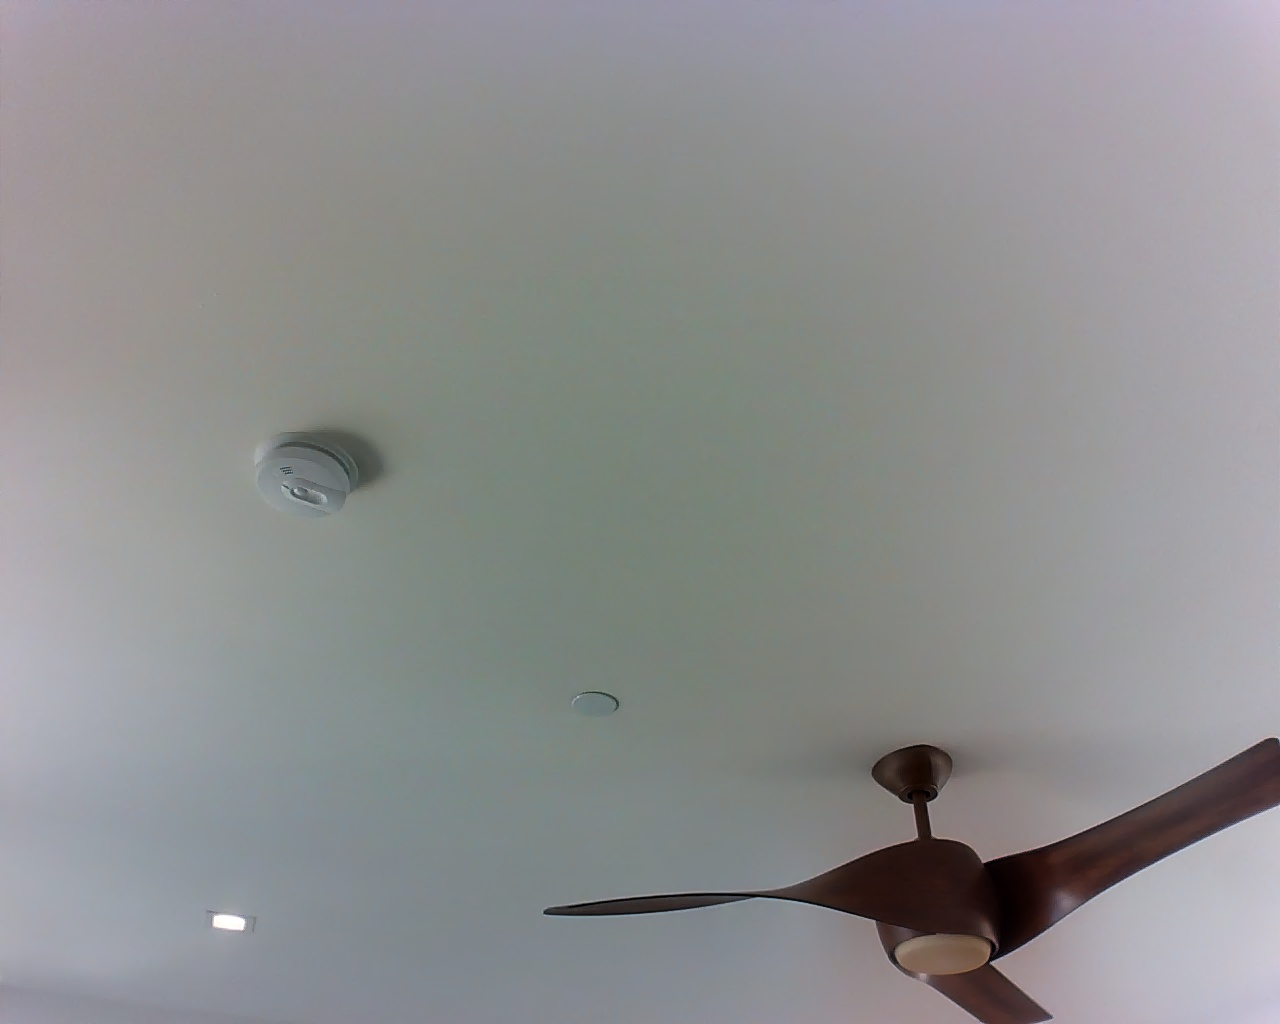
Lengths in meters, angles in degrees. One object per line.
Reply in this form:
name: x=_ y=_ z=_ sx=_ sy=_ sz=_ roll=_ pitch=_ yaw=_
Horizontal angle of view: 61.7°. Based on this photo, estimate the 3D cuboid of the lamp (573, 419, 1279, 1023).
lamp: x=0.490 y=0.630 z=1.970 sx=1.270 sy=1.410 sz=0.370 roll=-29 pitch=68 yaw=-40
